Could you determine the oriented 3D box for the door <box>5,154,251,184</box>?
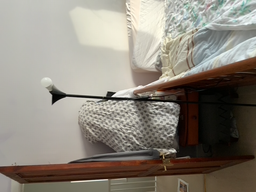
[{"bbox_3d":[0.050,0.680,1.960,0.770,1.940,0.050,119,149,-60],"label":"door"}]
